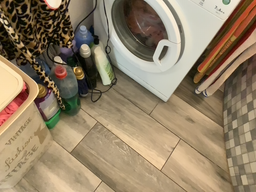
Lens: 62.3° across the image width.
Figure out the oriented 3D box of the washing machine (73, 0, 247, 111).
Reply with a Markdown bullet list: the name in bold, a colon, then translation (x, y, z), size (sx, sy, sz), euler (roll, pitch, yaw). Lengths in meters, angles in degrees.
- **washing machine**: translation (0.180, -0.500, 1.140), size (0.680, 0.840, 0.630), euler (36, 65, 9)
